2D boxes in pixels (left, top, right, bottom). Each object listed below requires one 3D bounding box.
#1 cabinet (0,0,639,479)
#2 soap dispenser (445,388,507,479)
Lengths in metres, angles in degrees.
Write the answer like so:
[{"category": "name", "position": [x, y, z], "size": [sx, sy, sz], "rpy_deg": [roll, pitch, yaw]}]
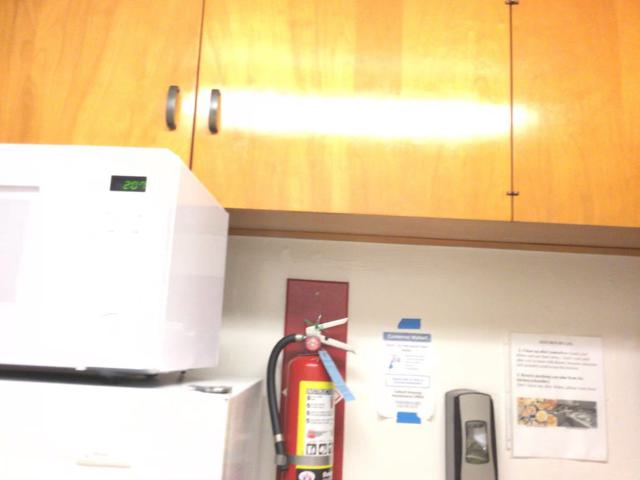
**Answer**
[{"category": "cabinet", "position": [0.240, -0.080, 1.230], "size": [2.290, 1.040, 0.360], "rpy_deg": [2, -10, 1]}, {"category": "soap dispenser", "position": [0.340, 0.460, 1.270], "size": [0.110, 0.250, 0.100], "rpy_deg": [2, -10, 1]}]
